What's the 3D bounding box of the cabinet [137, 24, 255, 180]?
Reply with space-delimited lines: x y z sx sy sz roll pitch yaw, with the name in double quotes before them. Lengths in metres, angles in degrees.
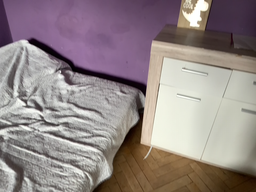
"cabinet" 0.820 0.080 1.510 1.370 0.860 0.450 14 36 15
